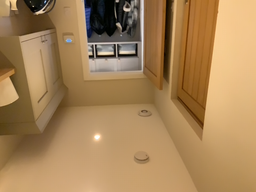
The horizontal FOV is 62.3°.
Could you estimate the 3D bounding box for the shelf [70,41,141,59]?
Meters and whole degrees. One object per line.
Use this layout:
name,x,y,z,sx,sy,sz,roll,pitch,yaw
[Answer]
shelf,-0.470,-1.010,4.600,1.440,0.300,0.390,-2,-159,-4
